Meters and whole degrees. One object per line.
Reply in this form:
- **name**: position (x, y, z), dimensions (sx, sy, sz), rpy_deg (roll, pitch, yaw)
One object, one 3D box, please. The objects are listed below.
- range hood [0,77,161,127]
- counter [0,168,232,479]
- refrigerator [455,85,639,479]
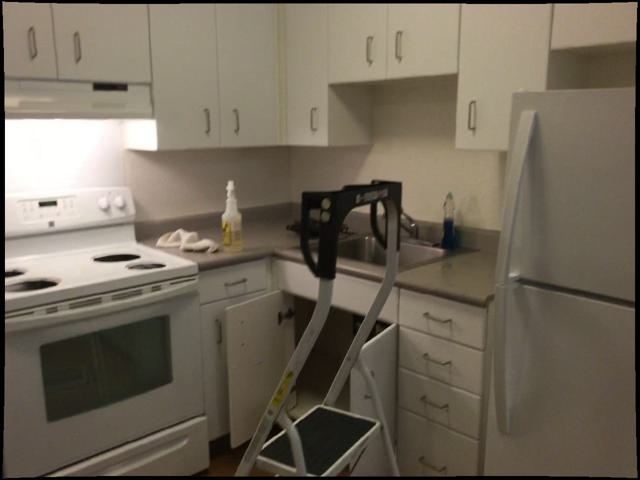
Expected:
- **range hood**: position (-0.987, -0.511, 2.140), dimensions (0.749, 0.160, 0.220), rpy_deg (-13, 18, -43)
- **counter**: position (-0.958, 0.391, 2.340), dimensions (0.879, 1.243, 0.749), rpy_deg (-12, 18, -43)
- **refrigerator**: position (0.758, 0.421, 1.410), dimensions (0.150, 1.544, 0.849), rpy_deg (-12, 18, -43)
